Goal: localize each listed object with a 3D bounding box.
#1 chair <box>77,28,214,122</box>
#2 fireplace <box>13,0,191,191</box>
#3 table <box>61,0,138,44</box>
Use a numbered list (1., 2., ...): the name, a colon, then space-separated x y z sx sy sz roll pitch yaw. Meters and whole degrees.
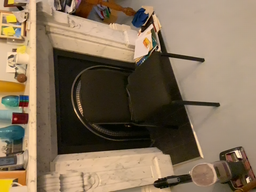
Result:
1. chair: 0.130 -0.090 1.670 0.480 0.900 0.450 -39 54 49
2. fireplace: -0.360 -0.050 2.100 0.720 1.250 1.990 -40 54 48
3. table: -0.450 -1.400 2.880 0.640 0.740 1.060 -40 54 48
